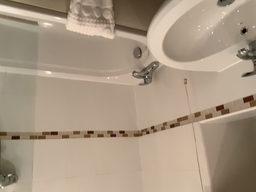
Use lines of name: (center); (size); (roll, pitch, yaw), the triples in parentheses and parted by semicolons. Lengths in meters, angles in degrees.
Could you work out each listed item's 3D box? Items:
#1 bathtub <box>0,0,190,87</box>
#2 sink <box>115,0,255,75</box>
bathtub: (-0.560, -0.500, 1.250); (1.650, 0.590, 0.720); (3, 162, -27)
sink: (0.300, -0.290, 0.780); (0.500, 0.180, 0.580); (3, 162, -27)
